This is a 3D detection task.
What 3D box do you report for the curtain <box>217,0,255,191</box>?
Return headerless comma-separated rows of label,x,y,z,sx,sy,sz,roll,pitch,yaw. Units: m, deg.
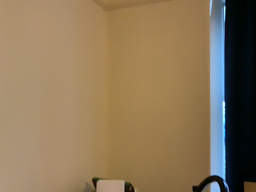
curtain,0.970,-0.080,1.720,0.430,1.930,0.190,0,0,17
